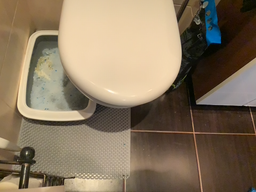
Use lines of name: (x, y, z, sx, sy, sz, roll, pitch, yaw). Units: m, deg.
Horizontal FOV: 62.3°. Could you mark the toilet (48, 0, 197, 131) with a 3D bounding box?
toilet: (-0.050, -0.160, 0.810, 0.370, 0.440, 0.500, 3, 69, -11)
